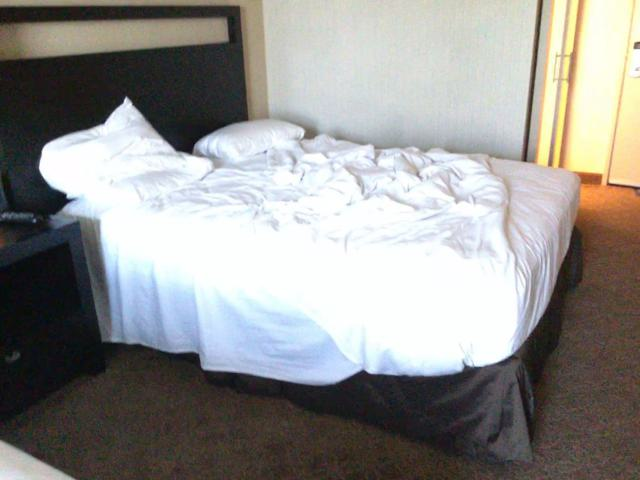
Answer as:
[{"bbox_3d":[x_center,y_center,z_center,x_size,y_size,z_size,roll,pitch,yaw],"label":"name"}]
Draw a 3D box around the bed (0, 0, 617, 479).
[{"bbox_3d":[0.030,-0.330,2.580,2.130,1.500,1.730,8,22,25],"label":"bed"}]
